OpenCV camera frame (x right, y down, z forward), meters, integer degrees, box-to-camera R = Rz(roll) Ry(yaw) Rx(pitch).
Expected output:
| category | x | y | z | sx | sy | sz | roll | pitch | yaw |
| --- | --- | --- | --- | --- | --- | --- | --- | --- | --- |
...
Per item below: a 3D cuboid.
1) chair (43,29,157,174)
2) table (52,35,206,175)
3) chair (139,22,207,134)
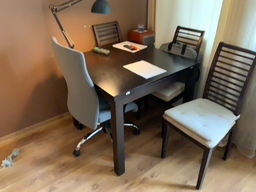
| category | x | y | z | sx | sy | sz | roll | pitch | yaw |
| --- | --- | --- | --- | --- | --- | --- | --- | --- | --- |
| chair | -0.220 | 0.000 | 1.860 | 0.650 | 0.940 | 0.610 | -22 | 37 | -32 |
| table | -0.030 | -0.050 | 2.120 | 0.940 | 0.750 | 1.070 | -22 | 36 | -32 |
| chair | 0.420 | -0.180 | 2.130 | 0.470 | 0.960 | 0.370 | -25 | 38 | -35 |
